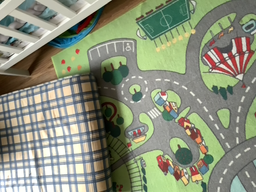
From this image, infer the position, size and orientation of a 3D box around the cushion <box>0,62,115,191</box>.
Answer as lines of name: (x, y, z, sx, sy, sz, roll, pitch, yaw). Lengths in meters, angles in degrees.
cushion: (-0.600, 0.300, 1.350, 0.960, 0.150, 0.790, -12, 86, 22)
